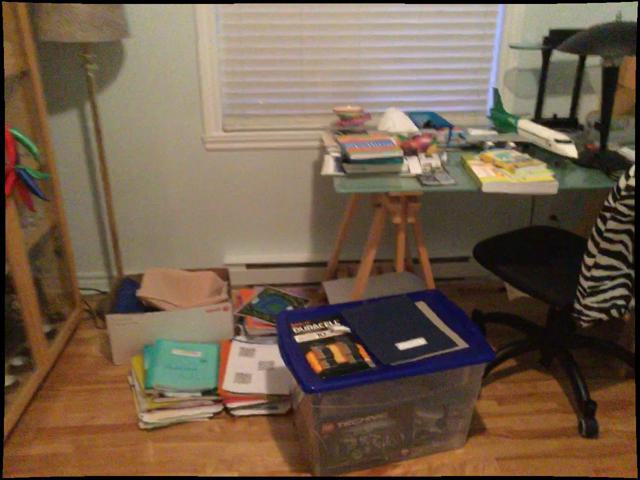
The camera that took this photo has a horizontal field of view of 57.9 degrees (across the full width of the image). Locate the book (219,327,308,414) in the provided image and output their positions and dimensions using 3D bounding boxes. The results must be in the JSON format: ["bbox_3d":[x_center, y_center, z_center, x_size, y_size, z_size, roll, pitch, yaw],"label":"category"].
[{"bbox_3d":[-0.190,0.440,1.990,0.280,0.100,0.320,-2,26,-3],"label":"book"}]

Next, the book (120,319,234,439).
[{"bbox_3d":[-0.480,0.450,1.950,0.330,0.130,0.390,-7,26,-12],"label":"book"}]

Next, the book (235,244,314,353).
[{"bbox_3d":[-0.180,0.220,2.330,0.280,0.220,0.450,-2,26,-3],"label":"book"}]

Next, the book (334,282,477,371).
[{"bbox_3d":[0.240,0.240,1.700,0.290,0.030,0.330,-11,28,-20],"label":"book"}]

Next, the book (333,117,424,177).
[{"bbox_3d":[0.170,-0.300,1.820,0.230,0.080,0.350,-2,26,-3],"label":"book"}]

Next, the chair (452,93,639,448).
[{"bbox_3d":[0.849,0.050,1.880,0.440,0.881,0.660,-12,28,-22],"label":"chair"}]

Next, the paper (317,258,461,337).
[{"bbox_3d":[0.250,0.210,2.250,0.470,0.080,0.380,-5,26,-8],"label":"paper"}]
